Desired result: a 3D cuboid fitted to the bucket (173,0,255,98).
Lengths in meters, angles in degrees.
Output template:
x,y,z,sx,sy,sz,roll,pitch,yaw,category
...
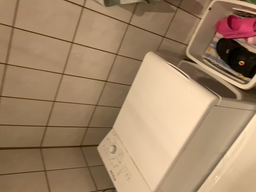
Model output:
x,y,z,sx,sy,sz,roll,pitch,yaw,category
0.650,-0.270,1.160,0.500,0.500,0.360,52,125,44,bucket
